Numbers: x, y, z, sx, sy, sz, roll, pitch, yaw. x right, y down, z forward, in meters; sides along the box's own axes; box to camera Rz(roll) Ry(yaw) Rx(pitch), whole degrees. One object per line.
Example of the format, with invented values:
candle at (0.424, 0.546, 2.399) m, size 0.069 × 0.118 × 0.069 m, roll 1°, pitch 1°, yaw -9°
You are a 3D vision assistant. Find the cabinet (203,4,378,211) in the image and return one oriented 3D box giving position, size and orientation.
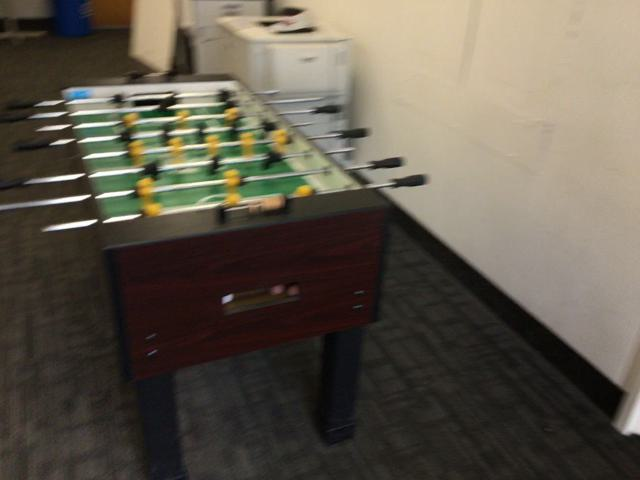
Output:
cabinet at (-0.220, -0.820, 3.420) m, size 0.710 × 0.930 × 0.830 m, roll -10°, pitch 35°, yaw -22°
